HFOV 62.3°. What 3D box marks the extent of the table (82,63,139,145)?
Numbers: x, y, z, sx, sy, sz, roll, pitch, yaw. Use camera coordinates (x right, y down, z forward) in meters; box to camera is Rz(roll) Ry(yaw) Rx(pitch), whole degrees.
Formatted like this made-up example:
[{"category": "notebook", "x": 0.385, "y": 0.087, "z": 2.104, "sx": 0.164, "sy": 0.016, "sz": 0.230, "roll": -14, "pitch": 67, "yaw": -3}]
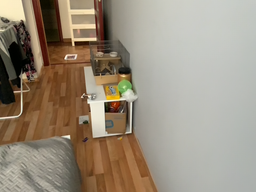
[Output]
[{"category": "table", "x": -0.210, "y": 0.020, "z": 2.110, "sx": 0.410, "sy": 0.430, "sz": 0.810, "roll": -5, "pitch": 29, "yaw": -12}]
